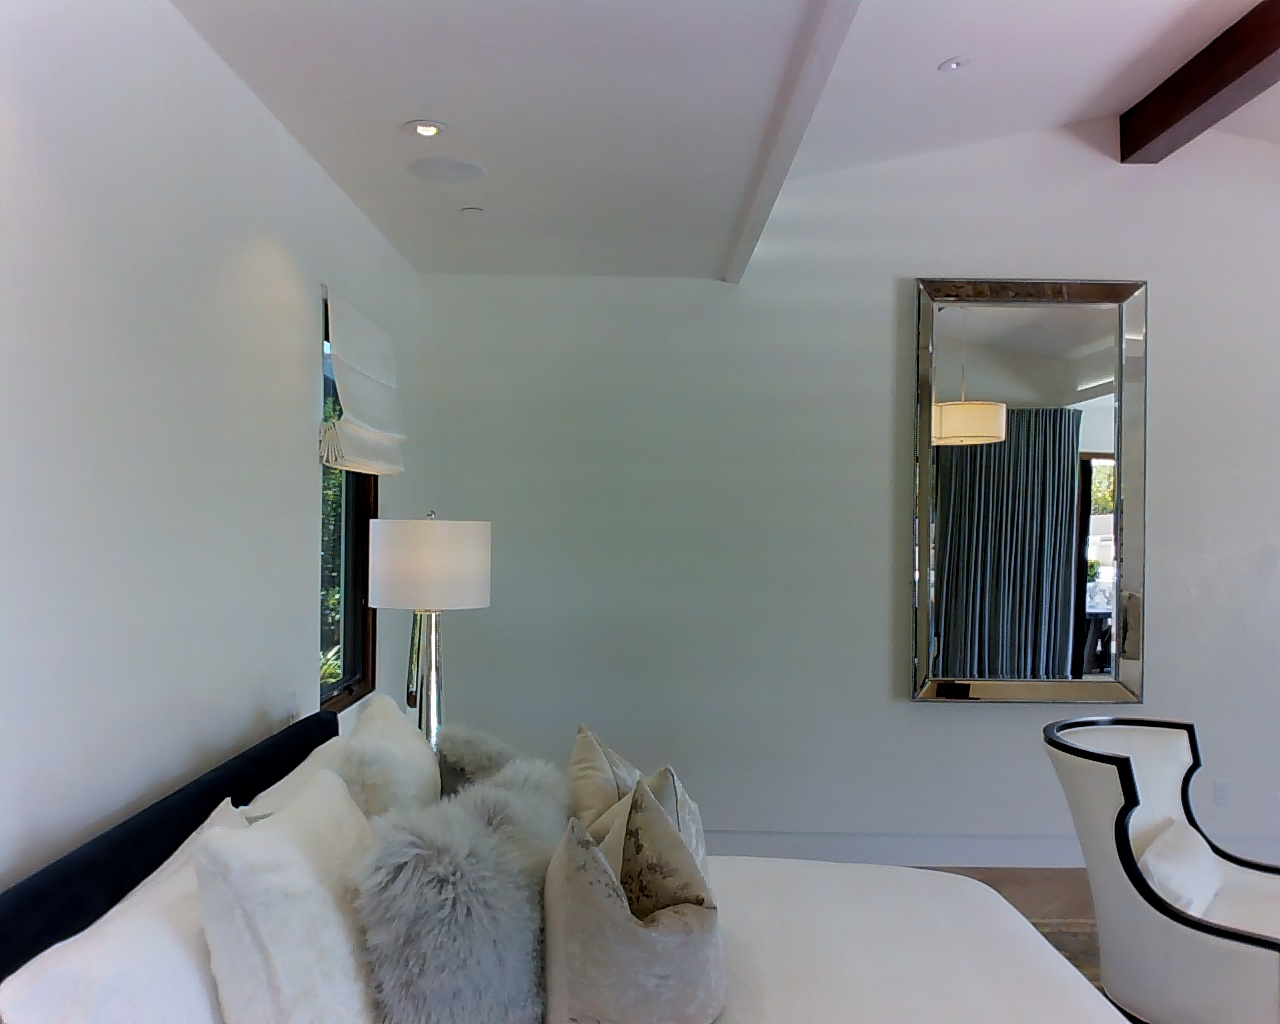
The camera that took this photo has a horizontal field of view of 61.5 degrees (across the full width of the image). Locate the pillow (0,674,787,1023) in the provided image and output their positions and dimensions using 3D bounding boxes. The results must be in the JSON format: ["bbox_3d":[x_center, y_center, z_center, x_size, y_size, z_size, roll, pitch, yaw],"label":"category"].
[{"bbox_3d":[-0.370,0.760,2.400,1.150,0.520,1.760,1,0,0],"label":"pillow"}]

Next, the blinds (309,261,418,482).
[{"bbox_3d":[-1.030,-0.480,4.110,0.130,0.700,1.090,1,0,0],"label":"blinds"}]

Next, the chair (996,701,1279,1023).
[{"bbox_3d":[1.760,1.180,3.270,1.010,0.970,0.900,1,0,41],"label":"chair"}]
